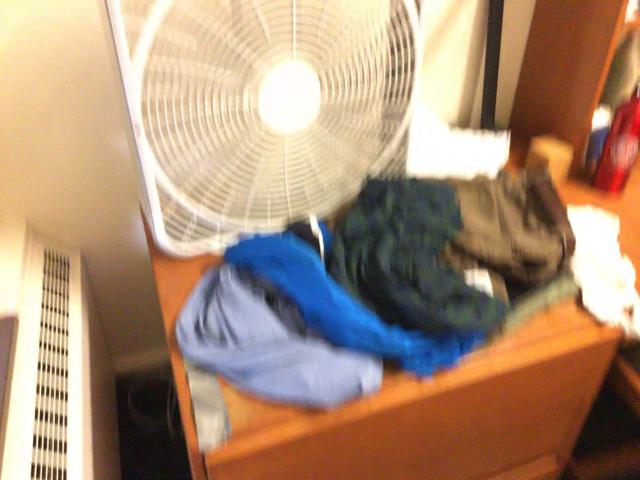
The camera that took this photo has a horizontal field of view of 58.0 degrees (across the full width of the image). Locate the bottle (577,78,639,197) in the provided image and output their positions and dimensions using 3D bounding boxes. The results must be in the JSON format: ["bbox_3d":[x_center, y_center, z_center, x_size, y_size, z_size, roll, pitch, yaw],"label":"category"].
[{"bbox_3d":[0.620,-0.210,1.200,0.080,0.220,0.080,-11,39,-11],"label":"bottle"}]

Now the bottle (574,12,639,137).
[{"bbox_3d":[0.700,-0.390,1.370,0.070,0.250,0.120,-11,39,-11],"label":"bottle"}]
